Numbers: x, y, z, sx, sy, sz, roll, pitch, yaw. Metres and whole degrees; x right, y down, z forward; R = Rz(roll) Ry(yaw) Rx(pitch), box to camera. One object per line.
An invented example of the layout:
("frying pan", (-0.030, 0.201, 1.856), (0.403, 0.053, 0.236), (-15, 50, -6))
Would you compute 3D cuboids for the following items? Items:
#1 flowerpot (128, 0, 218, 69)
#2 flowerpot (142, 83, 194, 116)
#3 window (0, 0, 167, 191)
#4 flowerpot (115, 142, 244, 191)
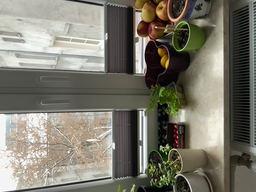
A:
("flowerpot", (0.170, -0.360, 0.950), (0.430, 0.180, 0.440), (-172, 83, -68))
("flowerpot", (0.190, 0.010, 1.060), (0.210, 0.160, 0.140), (-168, 79, -67))
("window", (-0.640, -0.070, 0.860), (0.120, 1.740, 1.120), (-169, 81, -67))
("flowerpot", (0.180, 0.420, 0.950), (0.470, 0.340, 0.280), (-169, 81, -67))
